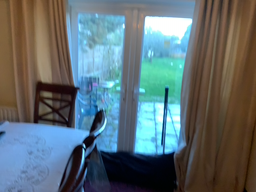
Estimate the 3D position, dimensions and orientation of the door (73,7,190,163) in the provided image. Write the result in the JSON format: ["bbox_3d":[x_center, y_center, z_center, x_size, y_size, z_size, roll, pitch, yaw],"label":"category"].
[{"bbox_3d":[-0.030,-0.080,2.560,1.270,1.770,0.100,5,14,5],"label":"door"}]

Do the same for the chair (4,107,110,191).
[{"bbox_3d":[-0.430,0.640,1.450,0.500,1.000,0.450,5,14,4],"label":"chair"}]

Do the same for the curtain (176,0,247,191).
[{"bbox_3d":[0.790,-0.110,2.050,0.350,2.230,0.130,5,14,4],"label":"curtain"}]

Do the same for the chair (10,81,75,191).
[{"bbox_3d":[-0.860,0.400,2.250,0.450,1.010,0.480,5,14,2],"label":"chair"}]
